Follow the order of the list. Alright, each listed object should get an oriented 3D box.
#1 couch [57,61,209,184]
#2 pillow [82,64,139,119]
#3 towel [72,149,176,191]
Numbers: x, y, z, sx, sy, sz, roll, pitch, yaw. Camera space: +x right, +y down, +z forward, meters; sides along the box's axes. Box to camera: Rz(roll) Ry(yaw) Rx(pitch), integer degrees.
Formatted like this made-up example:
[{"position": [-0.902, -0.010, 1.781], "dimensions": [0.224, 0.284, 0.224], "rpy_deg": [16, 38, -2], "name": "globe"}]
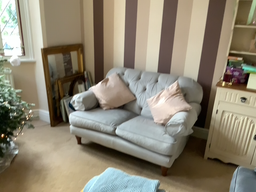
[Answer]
[{"position": [0.090, 0.150, 2.610], "dimensions": [1.460, 0.840, 1.050], "rpy_deg": [12, 22, 25], "name": "couch"}, {"position": [-0.220, -0.070, 2.710], "dimensions": [0.510, 0.490, 0.230], "rpy_deg": [-30, -5, -32], "name": "pillow"}, {"position": [-0.020, 0.630, 1.390], "dimensions": [0.530, 0.240, 0.400], "rpy_deg": [13, 23, 28], "name": "towel"}]
